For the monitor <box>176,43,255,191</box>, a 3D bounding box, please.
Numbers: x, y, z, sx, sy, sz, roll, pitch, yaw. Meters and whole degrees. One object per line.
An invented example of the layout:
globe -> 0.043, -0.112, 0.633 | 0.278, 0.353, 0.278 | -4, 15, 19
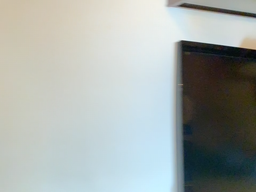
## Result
monitor -> 0.490, 0.190, 0.890 | 0.060, 0.590, 0.780 | 144, 129, -76
